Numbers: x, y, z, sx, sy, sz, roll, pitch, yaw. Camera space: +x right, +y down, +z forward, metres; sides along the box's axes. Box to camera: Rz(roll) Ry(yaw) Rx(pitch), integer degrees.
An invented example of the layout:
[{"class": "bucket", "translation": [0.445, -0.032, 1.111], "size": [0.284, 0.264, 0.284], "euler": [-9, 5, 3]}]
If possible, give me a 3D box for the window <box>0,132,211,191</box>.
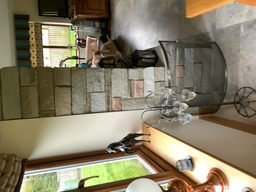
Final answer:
[{"class": "window", "translation": [-0.070, 0.540, 0.950], "size": [1.790, 0.990, 0.090], "euler": [-156, 65, -67]}]
